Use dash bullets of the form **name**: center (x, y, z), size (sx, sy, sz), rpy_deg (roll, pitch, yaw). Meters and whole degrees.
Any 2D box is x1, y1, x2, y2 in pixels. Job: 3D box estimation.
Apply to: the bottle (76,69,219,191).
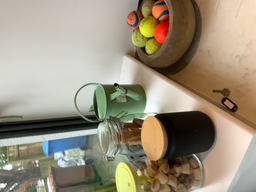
- **bottle**: center (0.000, 0.130, 0.690), size (0.450, 0.200, 0.310), rpy_deg (41, 128, 53)
